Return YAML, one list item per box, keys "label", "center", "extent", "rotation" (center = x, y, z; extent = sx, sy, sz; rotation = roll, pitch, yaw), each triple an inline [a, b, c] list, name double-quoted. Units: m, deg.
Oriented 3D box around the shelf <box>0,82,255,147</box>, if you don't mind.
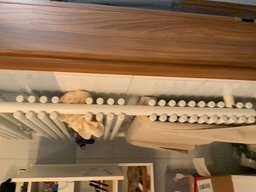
- label: "shelf"
  center: [-0.080, 0.170, 1.170]
  extent: [0.860, 1.490, 0.120]
  rotation: [113, 158, -69]
